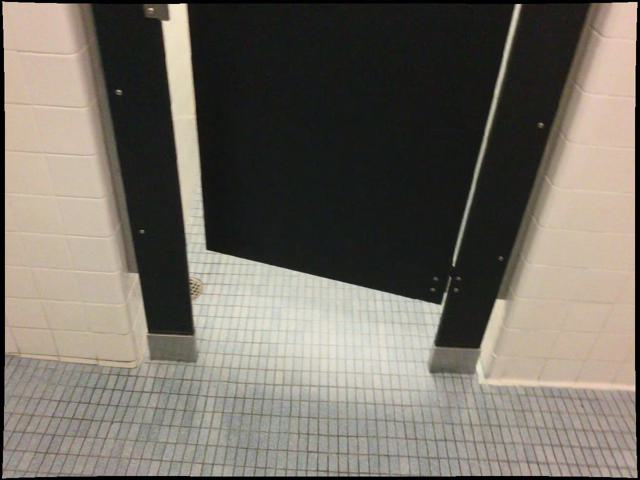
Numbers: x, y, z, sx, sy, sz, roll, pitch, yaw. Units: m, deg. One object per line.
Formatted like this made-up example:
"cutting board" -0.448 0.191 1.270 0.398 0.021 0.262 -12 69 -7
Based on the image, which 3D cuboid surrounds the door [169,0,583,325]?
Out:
"door" 0.070 -0.231 1.340 0.808 0.881 0.080 11 37 10
